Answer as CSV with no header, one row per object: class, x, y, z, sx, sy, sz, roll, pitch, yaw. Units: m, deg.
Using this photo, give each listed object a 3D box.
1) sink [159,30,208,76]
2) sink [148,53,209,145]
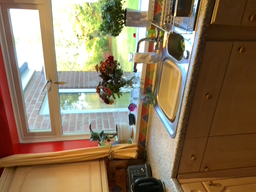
sink,0.330,-0.290,1.350,0.390,0.120,0.190,-113,24,-61
sink,0.320,-0.010,1.530,0.530,0.160,0.470,-113,24,-61
